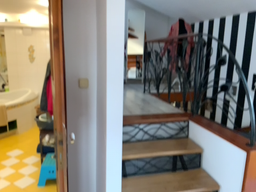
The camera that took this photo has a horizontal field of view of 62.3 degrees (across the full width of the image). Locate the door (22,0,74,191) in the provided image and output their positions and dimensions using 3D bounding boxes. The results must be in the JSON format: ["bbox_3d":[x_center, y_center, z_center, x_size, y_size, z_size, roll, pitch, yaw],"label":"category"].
[{"bbox_3d":[-0.480,0.300,1.470,0.160,1.840,0.840,-1,12,-13],"label":"door"}]
